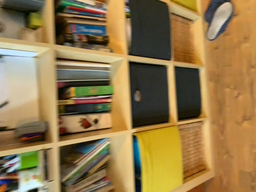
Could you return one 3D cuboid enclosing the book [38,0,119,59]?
[{"bbox_3d":[-0.250,-0.360,1.050,0.310,0.280,0.290,3,93,49],"label":"book"}]
